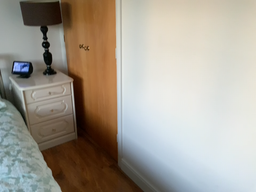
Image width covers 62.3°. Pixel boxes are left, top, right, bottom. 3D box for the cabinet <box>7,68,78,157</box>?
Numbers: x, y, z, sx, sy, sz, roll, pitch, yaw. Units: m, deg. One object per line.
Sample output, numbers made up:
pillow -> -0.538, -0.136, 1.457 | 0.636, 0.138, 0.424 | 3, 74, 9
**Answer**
cabinet -> -0.900, 0.130, 2.260 | 0.490, 0.700, 0.540 | -14, 26, -34
